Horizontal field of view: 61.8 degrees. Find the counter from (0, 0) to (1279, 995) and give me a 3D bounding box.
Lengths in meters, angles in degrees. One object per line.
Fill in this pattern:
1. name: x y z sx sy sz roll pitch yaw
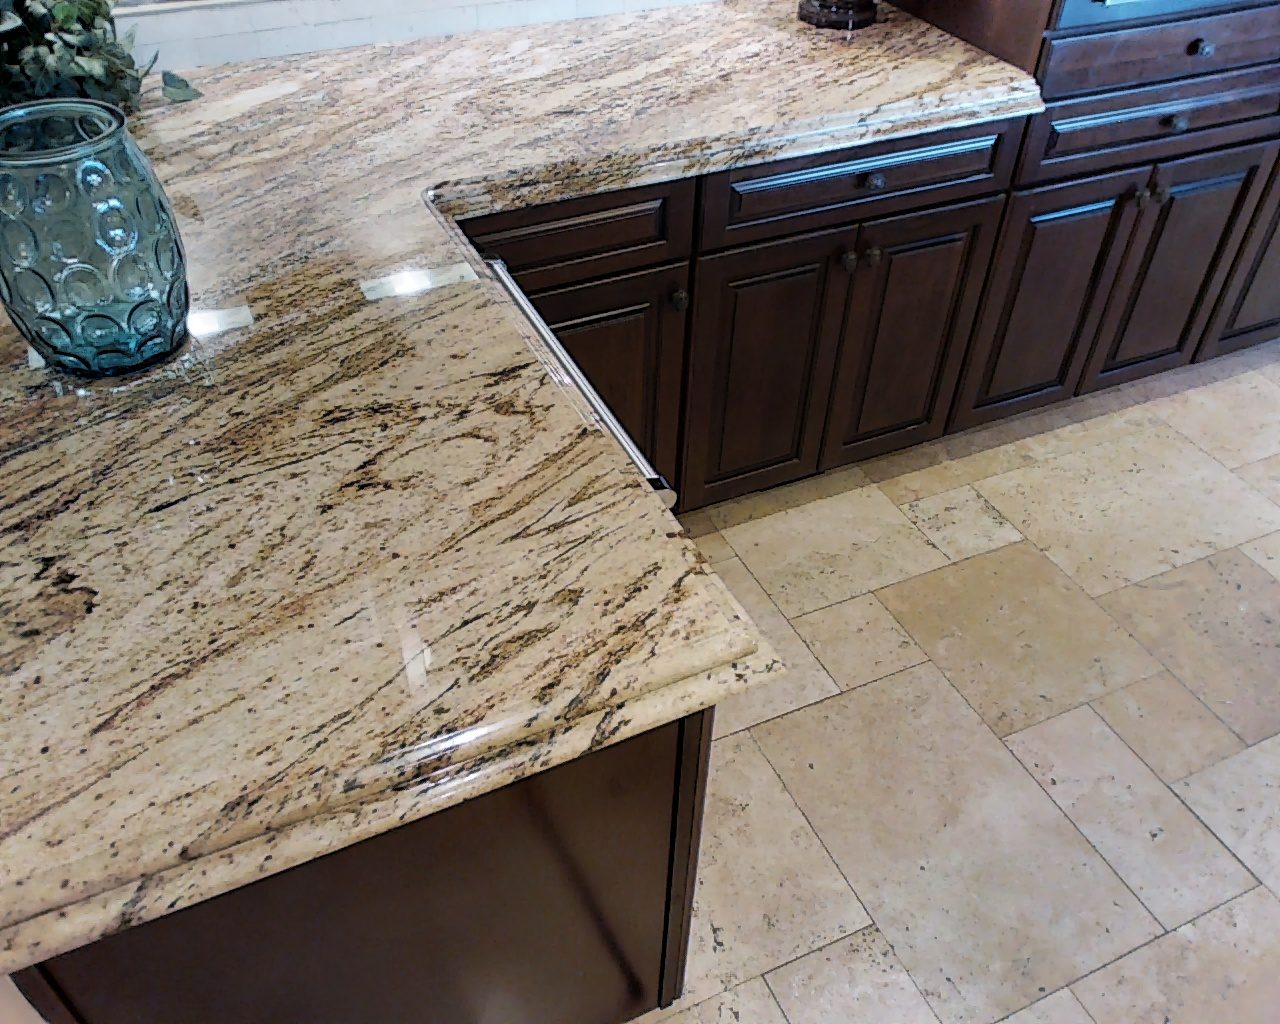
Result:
1. counter: -0.140 -0.390 1.450 2.121 0.090 1.610 -17 45 -19
